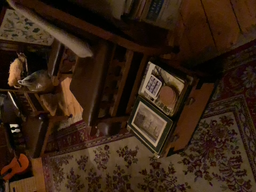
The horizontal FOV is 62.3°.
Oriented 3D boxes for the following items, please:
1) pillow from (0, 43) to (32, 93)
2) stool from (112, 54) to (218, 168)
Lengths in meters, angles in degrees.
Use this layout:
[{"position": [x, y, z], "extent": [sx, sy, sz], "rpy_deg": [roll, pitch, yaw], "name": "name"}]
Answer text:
[{"position": [-1.540, -0.370, 2.900], "extent": [0.530, 0.220, 0.430], "rpy_deg": [-45, 60, 39], "name": "pillow"}, {"position": [0.210, 0.070, 1.340], "extent": [0.370, 0.360, 0.550], "rpy_deg": [34, 116, 41], "name": "stool"}]
